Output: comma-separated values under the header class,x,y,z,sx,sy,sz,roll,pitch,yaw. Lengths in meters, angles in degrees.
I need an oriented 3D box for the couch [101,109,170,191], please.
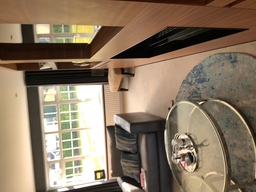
class,x,y,z,sx,sy,sz,roll,pitch,yaw
couch,0.070,0.970,3.620,1.130,0.800,1.300,-168,75,-72
